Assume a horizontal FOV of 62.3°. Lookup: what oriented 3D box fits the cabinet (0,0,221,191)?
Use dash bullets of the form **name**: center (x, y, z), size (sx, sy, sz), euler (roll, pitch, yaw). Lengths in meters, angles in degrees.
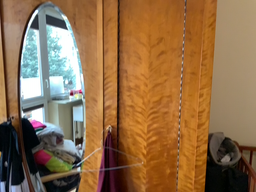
- **cabinet**: center (-0.380, 0.170, 1.570), size (1.790, 2.120, 0.680), euler (3, 7, 15)
